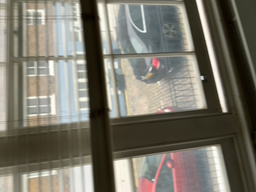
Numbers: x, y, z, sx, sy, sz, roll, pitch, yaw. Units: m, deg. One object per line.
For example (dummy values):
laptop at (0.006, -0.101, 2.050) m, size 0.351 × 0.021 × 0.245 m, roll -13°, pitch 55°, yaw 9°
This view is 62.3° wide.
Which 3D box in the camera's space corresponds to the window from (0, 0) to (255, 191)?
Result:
window at (-0.590, -0.390, 1.120) m, size 0.100 × 2.530 × 2.450 m, roll 132°, pitch 132°, yaw -71°
